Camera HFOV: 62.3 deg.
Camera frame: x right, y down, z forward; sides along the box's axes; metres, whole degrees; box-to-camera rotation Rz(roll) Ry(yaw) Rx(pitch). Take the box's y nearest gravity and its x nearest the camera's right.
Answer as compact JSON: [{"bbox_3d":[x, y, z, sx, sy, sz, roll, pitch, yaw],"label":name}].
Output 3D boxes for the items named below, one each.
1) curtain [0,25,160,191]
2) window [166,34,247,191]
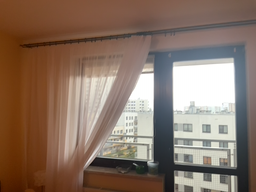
[{"bbox_3d":[-0.620,0.440,2.460,1.940,2.290,0.250,-1,-4,16],"label":"curtain"},{"bbox_3d":[0.840,0.580,2.340,0.780,2.410,0.200,-1,-4,22],"label":"window"}]
